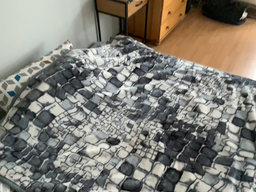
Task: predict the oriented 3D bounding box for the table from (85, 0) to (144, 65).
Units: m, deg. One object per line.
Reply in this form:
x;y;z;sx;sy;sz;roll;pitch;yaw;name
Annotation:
-0.120;-0.750;2.190;0.370;0.630;0.450;23;50;20;table

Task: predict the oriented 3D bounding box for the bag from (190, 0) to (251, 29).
1.270;-1.200;2.930;0.660;0.220;0.410;25;51;22;bag
